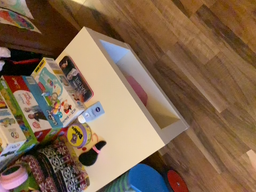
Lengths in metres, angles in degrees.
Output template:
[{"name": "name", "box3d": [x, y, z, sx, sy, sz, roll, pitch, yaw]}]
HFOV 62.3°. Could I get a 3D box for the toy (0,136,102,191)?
[{"name": "toy", "box3d": [-0.320, 0.330, 0.730, 0.260, 0.310, 0.220, -39, 75, 23]}]
